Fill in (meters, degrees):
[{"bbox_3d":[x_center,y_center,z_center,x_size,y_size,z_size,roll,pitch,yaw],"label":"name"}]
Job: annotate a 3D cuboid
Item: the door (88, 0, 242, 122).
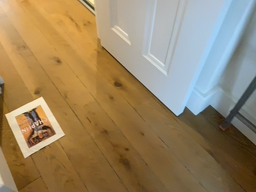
[{"bbox_3d":[0.060,-0.730,0.480,0.030,2.050,0.820,-33,62,-23],"label":"door"}]
